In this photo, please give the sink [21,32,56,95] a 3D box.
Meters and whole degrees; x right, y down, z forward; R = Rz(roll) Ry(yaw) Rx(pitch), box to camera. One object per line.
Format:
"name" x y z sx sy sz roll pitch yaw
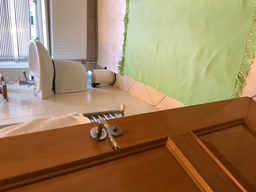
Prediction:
"sink" -0.850 -0.330 1.990 0.600 0.180 0.480 27 117 53
